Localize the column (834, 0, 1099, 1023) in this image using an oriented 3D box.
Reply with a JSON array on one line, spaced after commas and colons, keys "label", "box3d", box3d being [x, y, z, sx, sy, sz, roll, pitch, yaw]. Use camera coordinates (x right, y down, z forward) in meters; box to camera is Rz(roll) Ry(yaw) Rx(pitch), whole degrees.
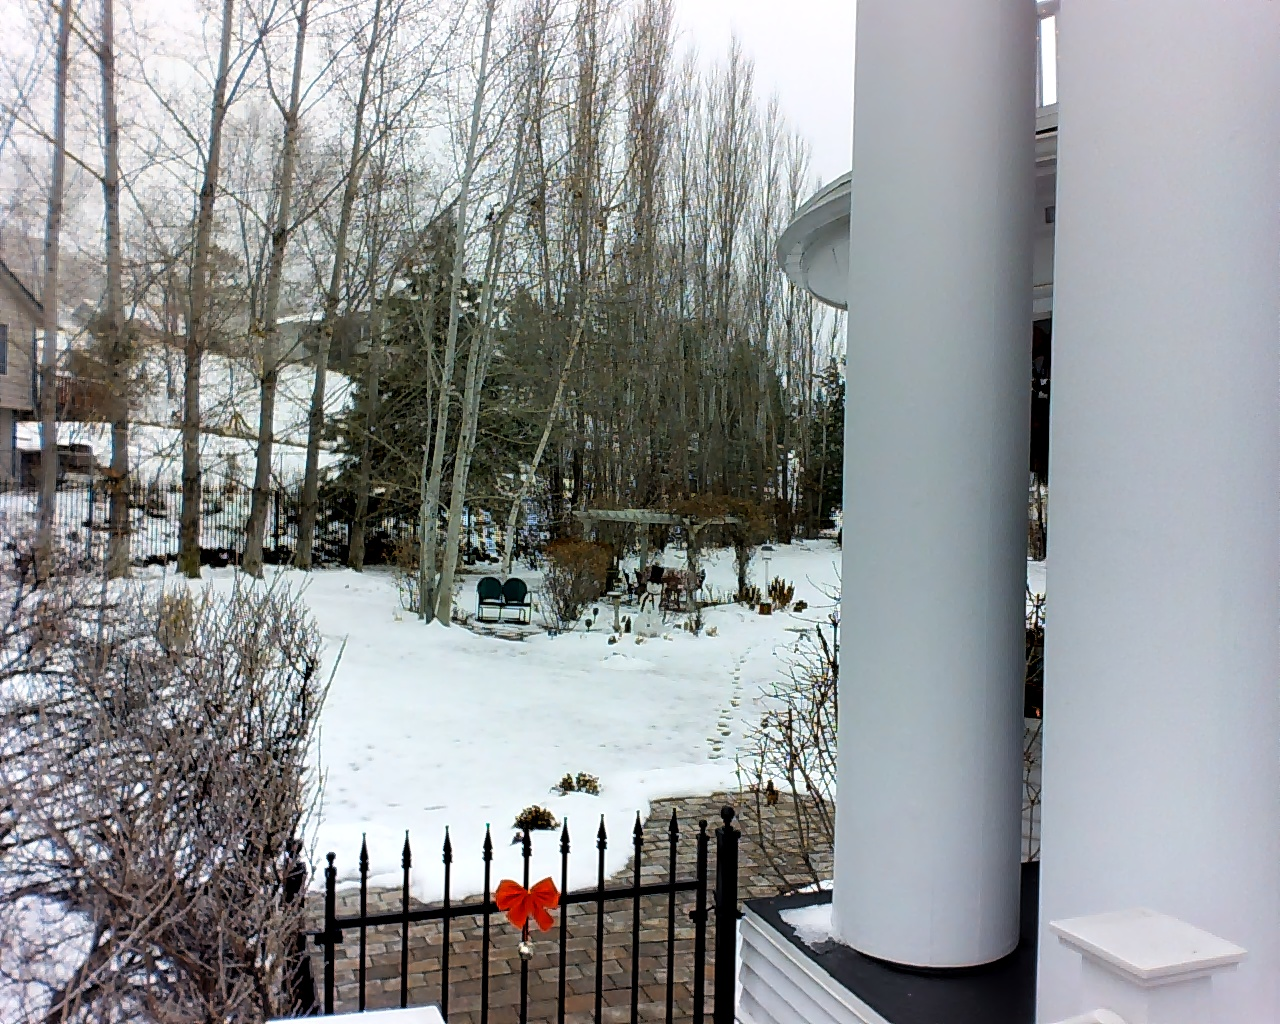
[{"label": "column", "box3d": [0.950, 0.070, 3.270, 0.480, 3.461, 0.770, 0, 0, -9]}]
